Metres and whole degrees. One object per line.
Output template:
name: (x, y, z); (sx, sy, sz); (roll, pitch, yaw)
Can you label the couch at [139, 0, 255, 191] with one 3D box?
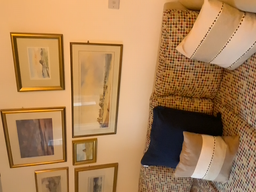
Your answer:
couch: (0.720, 0.380, 1.740); (1.180, 0.650, 2.270); (-126, 38, -61)
